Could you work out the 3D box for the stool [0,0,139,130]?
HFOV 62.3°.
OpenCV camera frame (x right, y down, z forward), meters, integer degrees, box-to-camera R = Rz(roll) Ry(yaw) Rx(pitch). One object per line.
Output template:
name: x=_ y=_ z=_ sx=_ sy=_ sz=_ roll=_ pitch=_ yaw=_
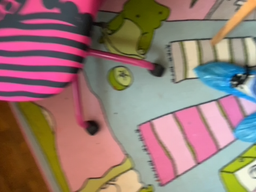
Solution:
stool: x=-0.230 y=-0.160 z=0.660 sx=0.370 sy=0.550 sz=0.350 roll=-29 pitch=88 yaw=7
